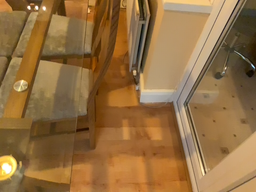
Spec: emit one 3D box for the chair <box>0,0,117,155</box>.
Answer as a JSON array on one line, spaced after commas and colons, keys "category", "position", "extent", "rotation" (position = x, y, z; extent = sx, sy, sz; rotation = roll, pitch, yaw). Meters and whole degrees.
[{"category": "chair", "position": [-0.380, -0.090, 1.110], "extent": [0.550, 1.030, 0.400], "rotation": [0, 53, -8]}]
